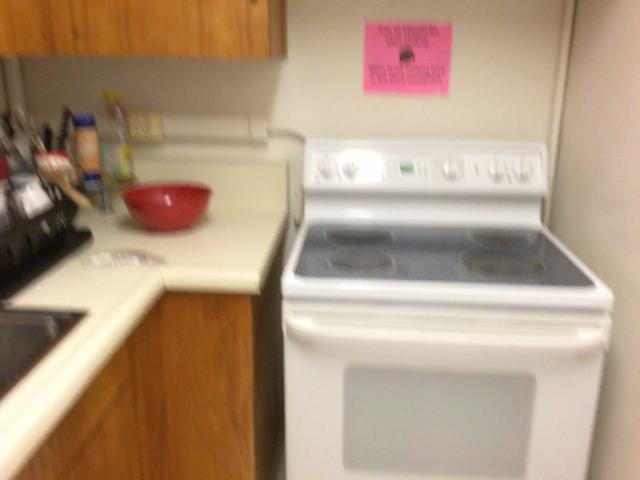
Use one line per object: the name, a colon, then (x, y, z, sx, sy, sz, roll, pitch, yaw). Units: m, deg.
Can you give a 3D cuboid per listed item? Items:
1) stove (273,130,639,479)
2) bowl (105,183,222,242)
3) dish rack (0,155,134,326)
stove: (0.320, 0.330, 1.690, 0.840, 1.190, 0.720, 2, 16, 1)
bowl: (-0.450, -0.090, 1.720, 0.260, 0.100, 0.300, 2, 16, 1)
dish rack: (-0.770, -0.040, 1.350, 0.460, 0.230, 0.600, 2, 16, 1)
